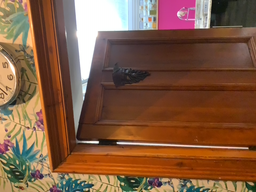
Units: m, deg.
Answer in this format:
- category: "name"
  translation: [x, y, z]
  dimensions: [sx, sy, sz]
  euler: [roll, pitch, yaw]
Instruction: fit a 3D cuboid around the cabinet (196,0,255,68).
- category: "cabinet"
  translation: [1.750, -1.120, 3.670]
  dimensions: [0.690, 0.890, 1.160]
  euler: [-73, -17, -72]
